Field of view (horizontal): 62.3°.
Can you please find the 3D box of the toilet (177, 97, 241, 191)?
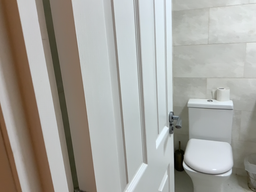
[{"bbox_3d":[0.690,0.480,1.860,0.420,0.790,0.610,2,17,22],"label":"toilet"}]
